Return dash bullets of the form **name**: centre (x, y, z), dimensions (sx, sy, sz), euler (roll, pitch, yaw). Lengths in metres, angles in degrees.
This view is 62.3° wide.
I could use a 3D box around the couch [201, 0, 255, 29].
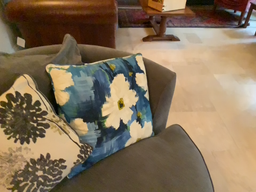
- **couch**: centre (1.940, -1.780, 3.590), dimensions (0.840, 0.940, 0.750), euler (-17, 41, -24)
